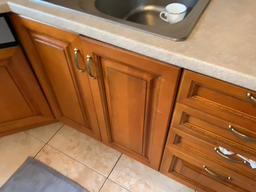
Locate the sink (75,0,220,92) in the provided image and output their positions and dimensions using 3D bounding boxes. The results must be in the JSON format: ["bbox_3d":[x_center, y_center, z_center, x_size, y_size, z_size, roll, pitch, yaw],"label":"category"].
[{"bbox_3d":[0.120,-0.330,0.880,0.390,0.220,0.520,23,53,18],"label":"sink"}]
